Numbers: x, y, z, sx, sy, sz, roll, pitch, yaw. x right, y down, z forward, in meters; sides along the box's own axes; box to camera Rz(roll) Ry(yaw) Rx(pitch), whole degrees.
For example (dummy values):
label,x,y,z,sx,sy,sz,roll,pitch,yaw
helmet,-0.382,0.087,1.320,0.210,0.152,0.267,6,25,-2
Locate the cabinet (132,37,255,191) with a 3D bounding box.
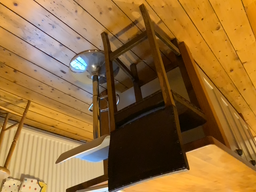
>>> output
label,x,y,z,sx,sy,sz,roll,pitch,yaw
cabinet,0.830,0.350,2.080,0.500,0.890,1.750,-29,141,28
